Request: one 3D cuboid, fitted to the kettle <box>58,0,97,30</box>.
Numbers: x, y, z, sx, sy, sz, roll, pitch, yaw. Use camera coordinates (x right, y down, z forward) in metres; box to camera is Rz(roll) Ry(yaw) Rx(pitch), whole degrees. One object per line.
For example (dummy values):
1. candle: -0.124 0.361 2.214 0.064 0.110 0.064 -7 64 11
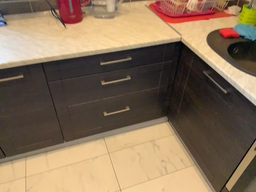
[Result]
1. kettle: -0.340 -0.630 1.370 0.220 0.320 0.190 -11 43 -14
